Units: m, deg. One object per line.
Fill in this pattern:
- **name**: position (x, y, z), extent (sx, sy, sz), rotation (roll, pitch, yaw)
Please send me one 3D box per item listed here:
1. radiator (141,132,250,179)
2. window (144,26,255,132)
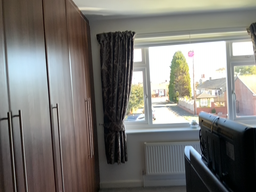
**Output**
- **radiator**: position (0.890, 0.820, 2.900), extent (1.390, 0.590, 0.120), rotation (-3, 2, 7)
- **window**: position (1.230, -0.230, 3.120), extent (1.900, 1.410, 0.220), rotation (-3, 2, 6)
